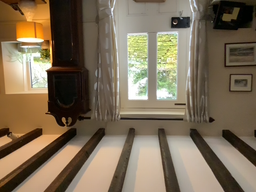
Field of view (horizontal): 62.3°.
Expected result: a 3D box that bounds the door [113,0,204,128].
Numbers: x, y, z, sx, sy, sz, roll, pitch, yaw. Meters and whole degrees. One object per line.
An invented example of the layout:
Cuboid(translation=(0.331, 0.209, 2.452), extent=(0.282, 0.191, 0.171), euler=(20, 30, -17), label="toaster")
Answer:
Cuboid(translation=(0.410, -0.730, 2.980), extent=(1.200, 2.330, 0.200), euler=(0, -172, 8), label="door")
